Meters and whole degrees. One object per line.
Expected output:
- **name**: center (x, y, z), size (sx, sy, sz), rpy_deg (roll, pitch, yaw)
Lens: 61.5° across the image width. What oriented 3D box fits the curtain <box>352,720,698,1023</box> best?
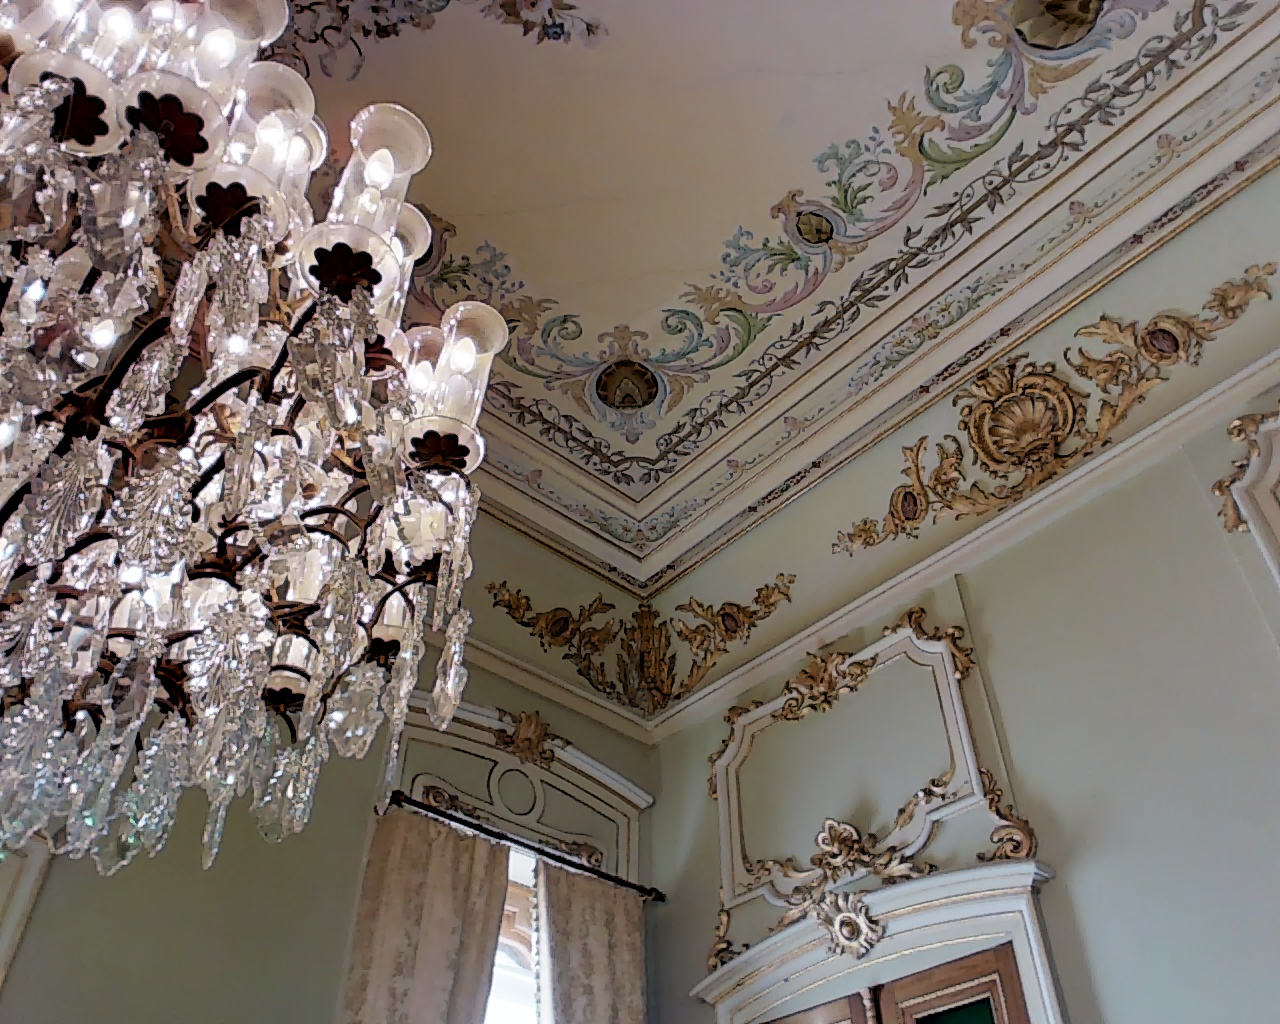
- **curtain**: center (-0.440, 3.072, 4.180), size (1.789, 4.402, 0.160), rpy_deg (30, -50, -29)
